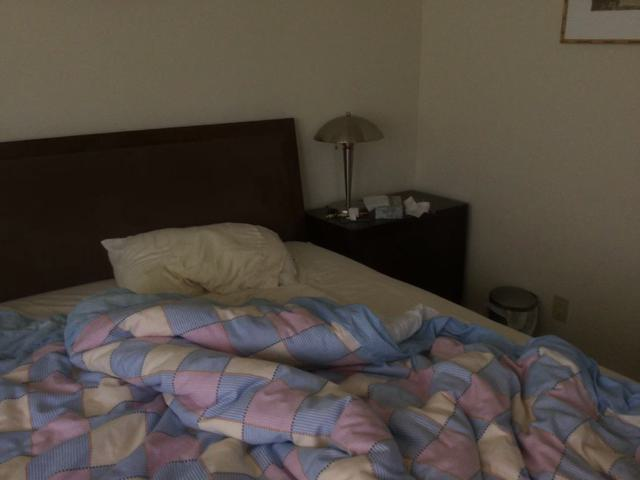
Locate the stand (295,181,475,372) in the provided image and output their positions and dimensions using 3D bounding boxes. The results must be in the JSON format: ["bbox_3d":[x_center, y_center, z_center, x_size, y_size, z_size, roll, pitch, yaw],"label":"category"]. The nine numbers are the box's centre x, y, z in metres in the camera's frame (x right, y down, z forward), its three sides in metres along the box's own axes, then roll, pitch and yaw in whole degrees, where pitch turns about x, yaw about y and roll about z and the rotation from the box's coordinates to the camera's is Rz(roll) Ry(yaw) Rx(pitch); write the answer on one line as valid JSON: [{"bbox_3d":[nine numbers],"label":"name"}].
[{"bbox_3d":[0.320,0.130,2.740,0.760,0.680,0.380,-13,19,-33],"label":"stand"}]
